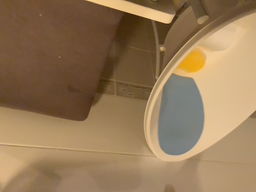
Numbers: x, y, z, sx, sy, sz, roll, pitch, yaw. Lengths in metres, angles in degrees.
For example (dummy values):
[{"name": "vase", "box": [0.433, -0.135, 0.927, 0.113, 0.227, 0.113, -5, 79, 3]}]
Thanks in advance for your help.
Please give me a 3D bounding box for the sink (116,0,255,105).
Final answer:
[{"name": "sink", "box": [0.210, -0.470, 1.000, 0.400, 0.860, 0.480, 9, 143, -17]}]
